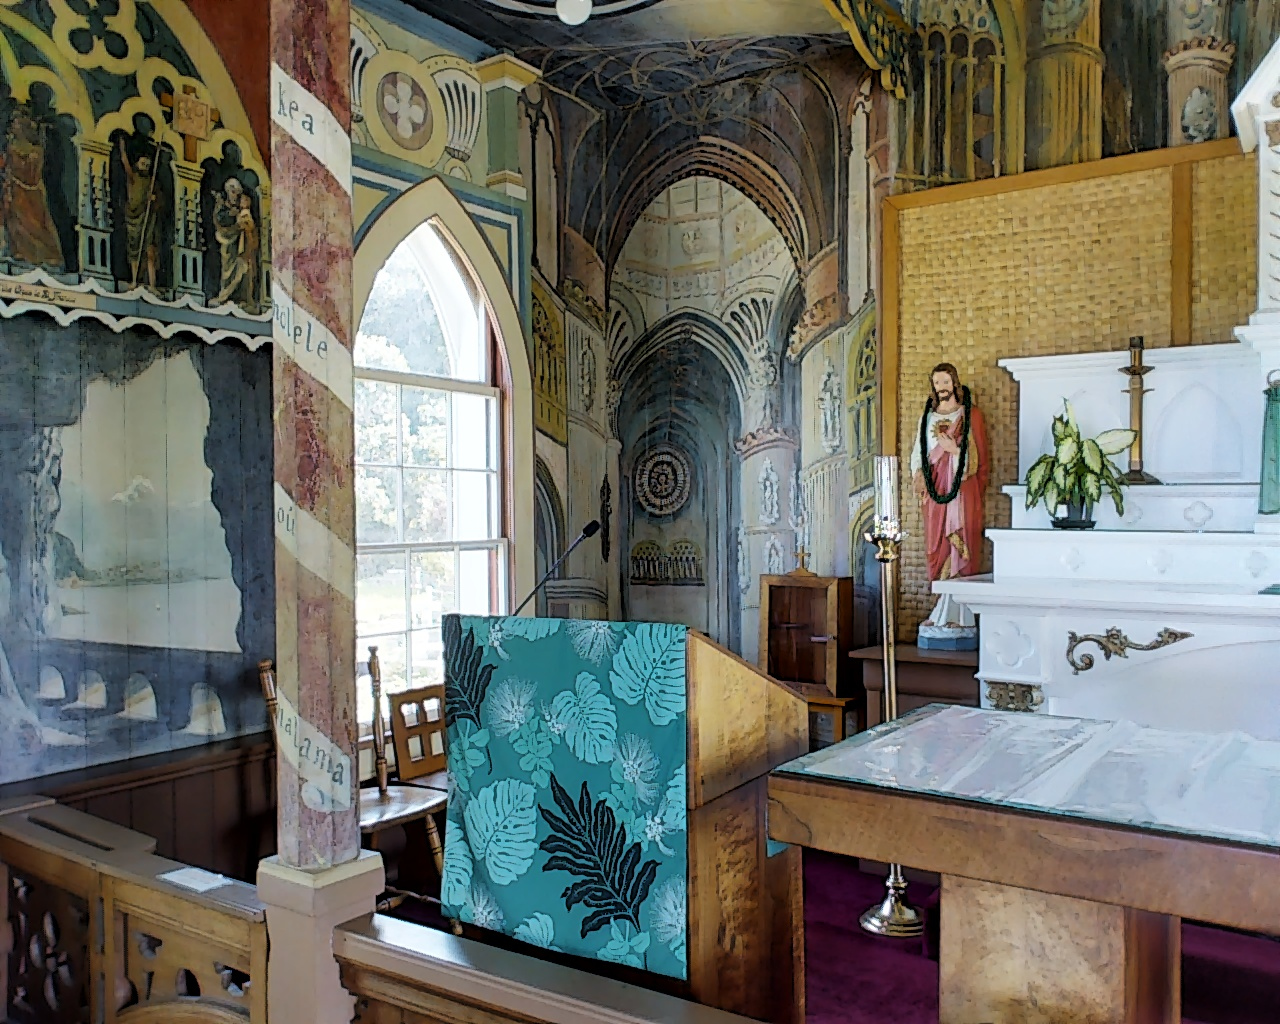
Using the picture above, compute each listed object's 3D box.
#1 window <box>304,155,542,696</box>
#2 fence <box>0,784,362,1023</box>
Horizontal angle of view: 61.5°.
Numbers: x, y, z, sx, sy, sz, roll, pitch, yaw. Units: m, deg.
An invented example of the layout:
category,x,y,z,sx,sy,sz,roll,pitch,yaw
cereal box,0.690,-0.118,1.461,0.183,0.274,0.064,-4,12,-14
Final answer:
category,x,y,z,sx,sy,sz,roll,pitch,yaw
window,-0.800,-0.300,4.170,0.190,1.851,1.040,0,0,35
fence,-1.150,1.040,2.430,1.310,0.630,0.200,0,0,34
